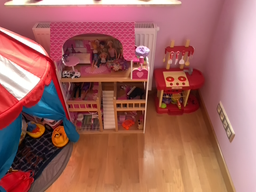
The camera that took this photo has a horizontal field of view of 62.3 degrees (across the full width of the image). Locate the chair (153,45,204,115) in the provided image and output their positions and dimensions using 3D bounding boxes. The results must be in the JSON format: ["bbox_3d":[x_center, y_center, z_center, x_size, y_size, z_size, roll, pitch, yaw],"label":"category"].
[{"bbox_3d":[0.400,-0.120,1.820,0.300,0.540,0.280,1,44,0],"label":"chair"}]
